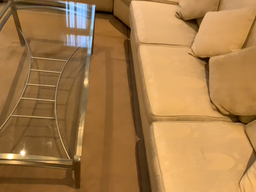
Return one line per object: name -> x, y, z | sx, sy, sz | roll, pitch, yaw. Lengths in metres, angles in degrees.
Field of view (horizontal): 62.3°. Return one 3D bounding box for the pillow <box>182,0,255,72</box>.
pillow -> 0.610, -0.420, 1.470 | 0.170, 0.340, 0.440 | -37, 86, 2
